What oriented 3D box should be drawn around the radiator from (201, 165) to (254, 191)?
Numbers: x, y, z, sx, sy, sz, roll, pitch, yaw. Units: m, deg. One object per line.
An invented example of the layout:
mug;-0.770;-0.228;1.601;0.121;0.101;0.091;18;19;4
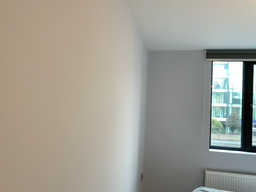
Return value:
radiator;1.350;1.270;2.910;0.630;0.540;0.120;3;-2;9
